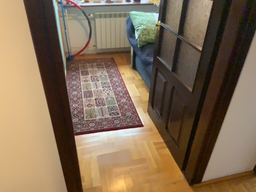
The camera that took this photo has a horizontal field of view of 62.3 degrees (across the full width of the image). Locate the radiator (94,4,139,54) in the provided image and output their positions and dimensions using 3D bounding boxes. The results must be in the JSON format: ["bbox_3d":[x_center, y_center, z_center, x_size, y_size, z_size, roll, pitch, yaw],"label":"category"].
[{"bbox_3d":[-0.200,-1.120,3.580,0.700,0.190,0.760,-4,124,-10],"label":"radiator"}]

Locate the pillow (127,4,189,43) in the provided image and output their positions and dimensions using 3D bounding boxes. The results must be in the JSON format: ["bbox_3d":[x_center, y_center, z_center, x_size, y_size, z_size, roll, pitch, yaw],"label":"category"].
[{"bbox_3d":[0.360,-0.940,2.810,0.640,0.610,0.290,-6,93,-8],"label":"pillow"}]
